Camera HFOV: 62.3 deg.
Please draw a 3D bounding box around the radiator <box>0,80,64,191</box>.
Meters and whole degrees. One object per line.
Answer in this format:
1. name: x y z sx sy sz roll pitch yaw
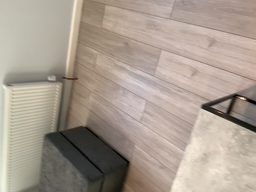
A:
1. radiator: -0.970 0.460 2.110 0.170 0.500 1.220 29 115 36
